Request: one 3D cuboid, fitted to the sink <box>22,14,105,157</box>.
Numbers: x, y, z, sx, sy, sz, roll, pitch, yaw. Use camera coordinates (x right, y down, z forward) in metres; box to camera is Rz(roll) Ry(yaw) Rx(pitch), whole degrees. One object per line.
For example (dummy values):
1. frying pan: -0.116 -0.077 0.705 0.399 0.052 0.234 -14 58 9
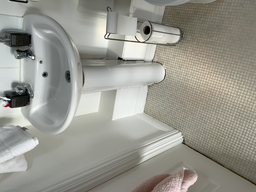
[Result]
1. sink: -0.350 -0.070 1.060 0.390 0.190 0.580 25 113 39
